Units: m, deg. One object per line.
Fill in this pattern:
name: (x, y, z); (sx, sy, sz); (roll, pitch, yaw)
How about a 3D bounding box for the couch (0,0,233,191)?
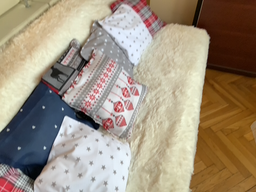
couch: (-0.100, 0.030, 1.250); (1.090, 0.720, 2.020); (15, 49, 12)
